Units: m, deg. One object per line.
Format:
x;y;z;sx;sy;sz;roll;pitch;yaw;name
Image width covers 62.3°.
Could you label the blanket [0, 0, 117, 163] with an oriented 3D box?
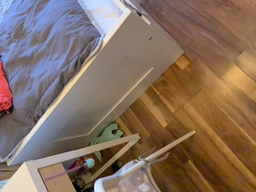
-0.450;-0.160;0.920;0.660;0.110;0.600;-45;68;22;blanket
